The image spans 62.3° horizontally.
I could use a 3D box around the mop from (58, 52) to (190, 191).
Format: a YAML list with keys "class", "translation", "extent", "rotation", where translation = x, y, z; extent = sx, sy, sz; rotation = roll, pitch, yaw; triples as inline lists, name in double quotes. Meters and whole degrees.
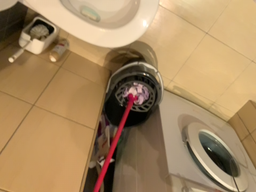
- class: "mop"
  translation: [-0.090, 0.310, 1.040]
  extent: [0.250, 0.990, 0.690]
  rotation: [28, 120, -16]
